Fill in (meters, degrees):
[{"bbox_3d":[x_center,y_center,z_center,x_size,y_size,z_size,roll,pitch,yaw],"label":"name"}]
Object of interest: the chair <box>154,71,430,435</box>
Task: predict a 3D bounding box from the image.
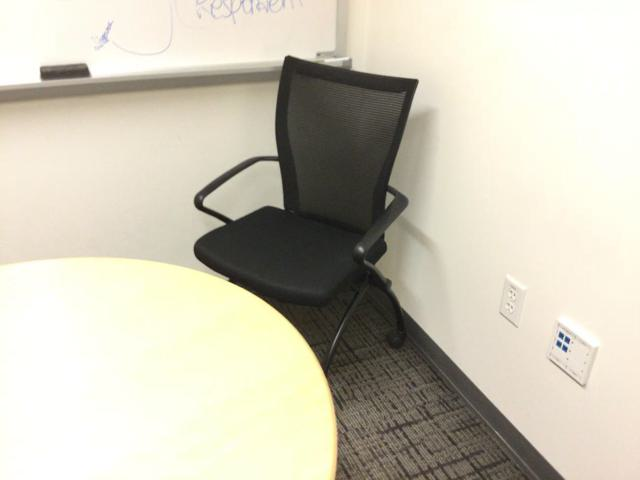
[{"bbox_3d":[-0.060,0.000,1.760,0.540,0.860,0.540,15,31,25],"label":"chair"}]
